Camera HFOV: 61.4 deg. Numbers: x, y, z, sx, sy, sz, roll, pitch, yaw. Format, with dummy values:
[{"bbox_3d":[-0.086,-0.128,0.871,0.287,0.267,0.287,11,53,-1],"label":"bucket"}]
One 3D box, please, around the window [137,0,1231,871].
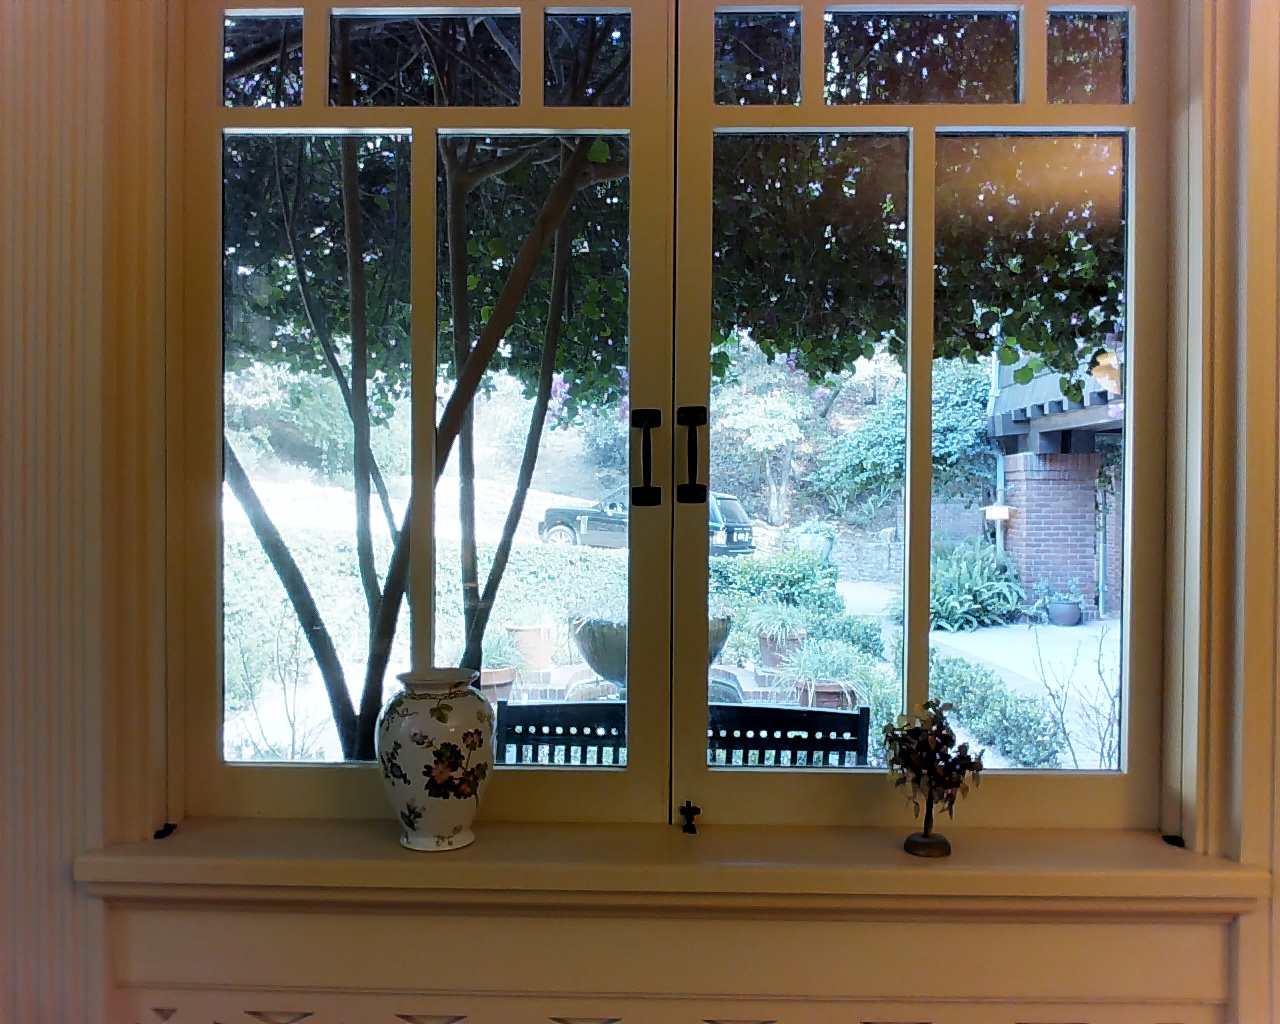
[{"bbox_3d":[0.050,-0.240,1.500,1.320,1.340,0.390,0,1,1],"label":"window"}]
